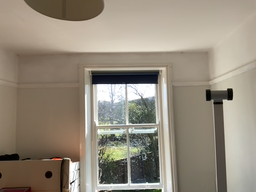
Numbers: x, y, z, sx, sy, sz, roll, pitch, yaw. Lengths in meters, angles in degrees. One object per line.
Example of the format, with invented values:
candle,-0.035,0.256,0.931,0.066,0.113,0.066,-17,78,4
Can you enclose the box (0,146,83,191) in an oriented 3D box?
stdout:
box,-0.940,0.840,2.240,0.790,0.480,0.680,-1,-4,-1
